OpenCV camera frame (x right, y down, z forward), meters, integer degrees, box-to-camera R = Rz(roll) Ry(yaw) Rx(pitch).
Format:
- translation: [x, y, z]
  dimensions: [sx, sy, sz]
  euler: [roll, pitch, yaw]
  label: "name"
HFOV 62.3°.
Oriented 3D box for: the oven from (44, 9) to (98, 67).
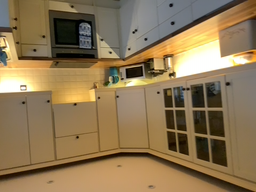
- translation: [-0.830, -0.770, 3.000]
  dimensions: [0.600, 0.630, 0.580]
  euler: [-4, 179, -25]
  label: "oven"
